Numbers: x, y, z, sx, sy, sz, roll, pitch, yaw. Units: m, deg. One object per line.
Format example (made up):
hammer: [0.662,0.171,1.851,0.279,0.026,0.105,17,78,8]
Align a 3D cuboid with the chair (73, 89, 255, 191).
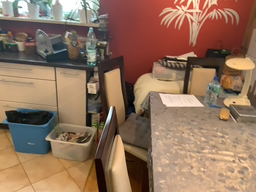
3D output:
chair: [0.130,0.560,0.890,0.560,1.040,0.380,9,25,9]
